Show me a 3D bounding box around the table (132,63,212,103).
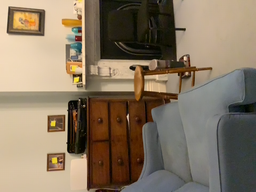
[{"bbox_3d":[0.420,-0.120,2.120,0.310,0.690,0.330,141,127,-76],"label":"table"}]
